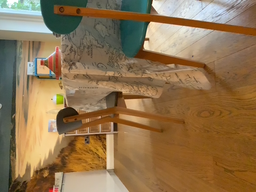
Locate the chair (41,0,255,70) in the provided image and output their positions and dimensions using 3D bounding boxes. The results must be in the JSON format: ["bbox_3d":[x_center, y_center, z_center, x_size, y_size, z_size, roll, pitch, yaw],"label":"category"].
[{"bbox_3d":[0.090,-0.410,0.910,0.510,0.790,0.440,151,119,-72],"label":"chair"}]

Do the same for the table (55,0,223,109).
[{"bbox_3d":[-0.100,-0.430,1.620,1.320,0.770,0.930,151,119,-72],"label":"table"}]
